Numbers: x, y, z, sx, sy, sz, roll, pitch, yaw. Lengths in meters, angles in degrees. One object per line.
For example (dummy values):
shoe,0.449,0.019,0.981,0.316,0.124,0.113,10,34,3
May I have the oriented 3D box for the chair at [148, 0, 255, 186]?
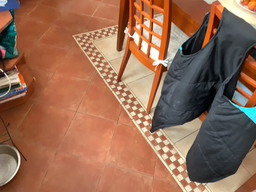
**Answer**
chair,0.490,0.030,1.110,0.470,0.950,0.400,-21,57,-23
